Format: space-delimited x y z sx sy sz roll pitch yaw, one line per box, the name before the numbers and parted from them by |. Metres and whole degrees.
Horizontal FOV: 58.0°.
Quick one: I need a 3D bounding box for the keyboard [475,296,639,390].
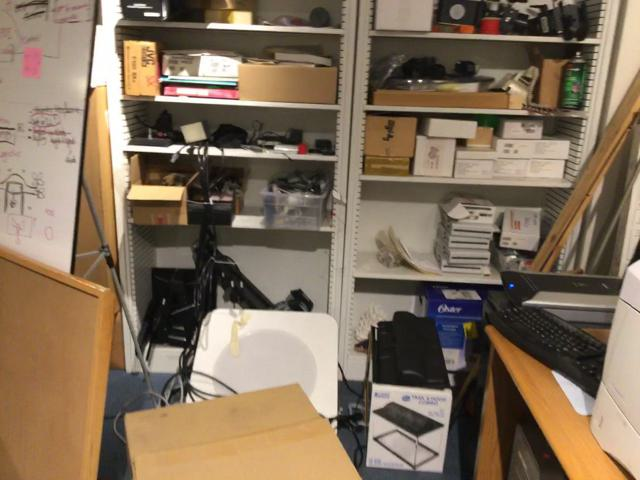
keyboard | 0.590 0.240 1.440 0.180 0.050 0.410 -5 15 -22
